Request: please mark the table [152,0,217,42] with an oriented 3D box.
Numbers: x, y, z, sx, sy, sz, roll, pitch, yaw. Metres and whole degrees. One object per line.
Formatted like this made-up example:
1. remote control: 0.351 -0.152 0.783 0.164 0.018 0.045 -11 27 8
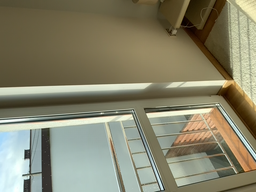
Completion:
1. table: 0.570 -0.930 2.230 0.530 0.340 0.460 108 151 -44
